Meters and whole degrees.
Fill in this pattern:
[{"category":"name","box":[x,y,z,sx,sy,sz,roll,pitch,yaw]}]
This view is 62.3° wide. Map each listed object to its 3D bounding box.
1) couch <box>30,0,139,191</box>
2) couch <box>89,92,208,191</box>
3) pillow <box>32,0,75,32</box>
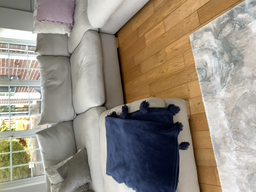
[{"category":"couch","box":[-0.680,-0.270,2.700,1.090,0.820,3.190,-21,73,56]},{"category":"couch","box":[0.100,0.520,1.800,0.910,0.470,0.930,-21,73,56]},{"category":"pillow","box":[-0.900,-1.100,2.600,0.160,0.410,0.510,39,118,45]}]
